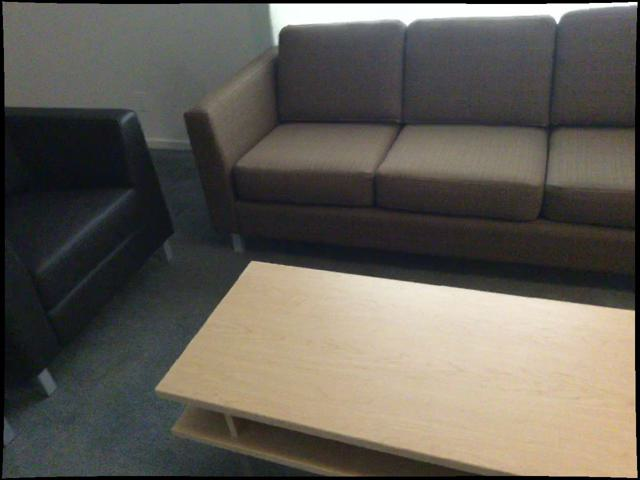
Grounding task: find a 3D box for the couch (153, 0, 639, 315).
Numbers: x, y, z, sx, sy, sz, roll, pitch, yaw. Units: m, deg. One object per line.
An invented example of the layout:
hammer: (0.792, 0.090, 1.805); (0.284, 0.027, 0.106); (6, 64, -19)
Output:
couch: (0.549, -0.391, 2.210); (2.016, 0.832, 0.890); (5, 30, 22)
